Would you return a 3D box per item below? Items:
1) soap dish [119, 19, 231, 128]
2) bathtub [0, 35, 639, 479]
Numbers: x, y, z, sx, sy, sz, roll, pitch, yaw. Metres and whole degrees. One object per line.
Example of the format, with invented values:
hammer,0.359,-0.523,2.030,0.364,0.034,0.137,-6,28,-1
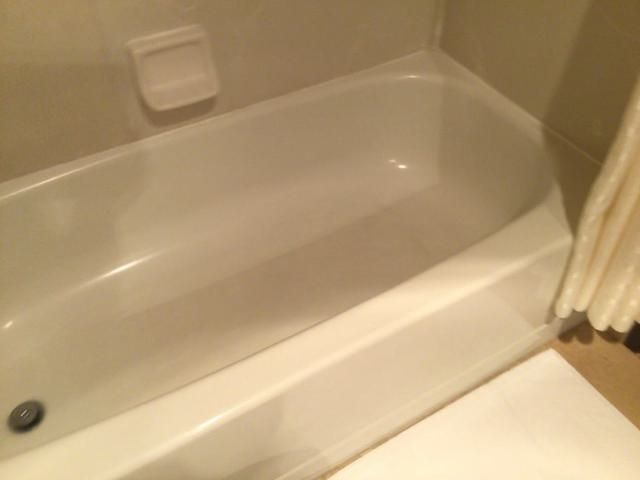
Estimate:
soap dish,-0.290,-0.340,1.180,0.180,0.150,0.090,-23,52,-21
bathtub,-0.130,0.090,1.230,1.410,0.430,0.730,-23,52,-21
